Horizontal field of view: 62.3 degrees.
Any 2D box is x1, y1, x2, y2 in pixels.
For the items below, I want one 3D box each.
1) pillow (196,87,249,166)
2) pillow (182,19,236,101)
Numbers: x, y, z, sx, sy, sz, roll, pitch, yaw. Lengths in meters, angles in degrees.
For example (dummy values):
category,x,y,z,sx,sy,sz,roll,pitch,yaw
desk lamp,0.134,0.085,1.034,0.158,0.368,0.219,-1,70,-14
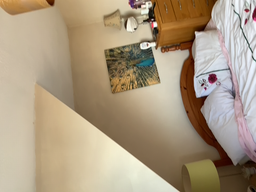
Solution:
category,x,y,z,sx,sy,sz,roll,pitch,yaw
pillow,0.890,0.310,2.070,0.390,0.160,0.690,82,178,-71
pillow,0.820,-0.360,2.260,0.500,0.220,0.690,82,178,-71
